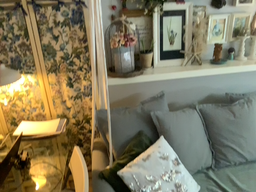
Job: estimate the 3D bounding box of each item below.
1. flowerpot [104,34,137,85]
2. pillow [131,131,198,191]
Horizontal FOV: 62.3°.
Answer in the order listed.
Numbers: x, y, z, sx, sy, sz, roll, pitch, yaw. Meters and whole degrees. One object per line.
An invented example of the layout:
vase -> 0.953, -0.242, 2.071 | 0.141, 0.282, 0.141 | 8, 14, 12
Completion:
flowerpot -> -0.060, -0.290, 1.660 | 0.210, 0.350, 0.210 | -6, 21, -6
pillow -> 0.250, 0.540, 1.390 | 0.180, 0.480, 0.480 | 16, -14, 34
